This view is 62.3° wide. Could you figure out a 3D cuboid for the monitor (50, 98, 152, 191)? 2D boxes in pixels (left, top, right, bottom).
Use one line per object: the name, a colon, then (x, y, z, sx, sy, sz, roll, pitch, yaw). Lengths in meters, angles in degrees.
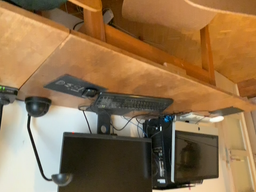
monitor: (-0.120, 0.330, 1.260, 0.640, 0.550, 0.040, 11, 157, -35)
